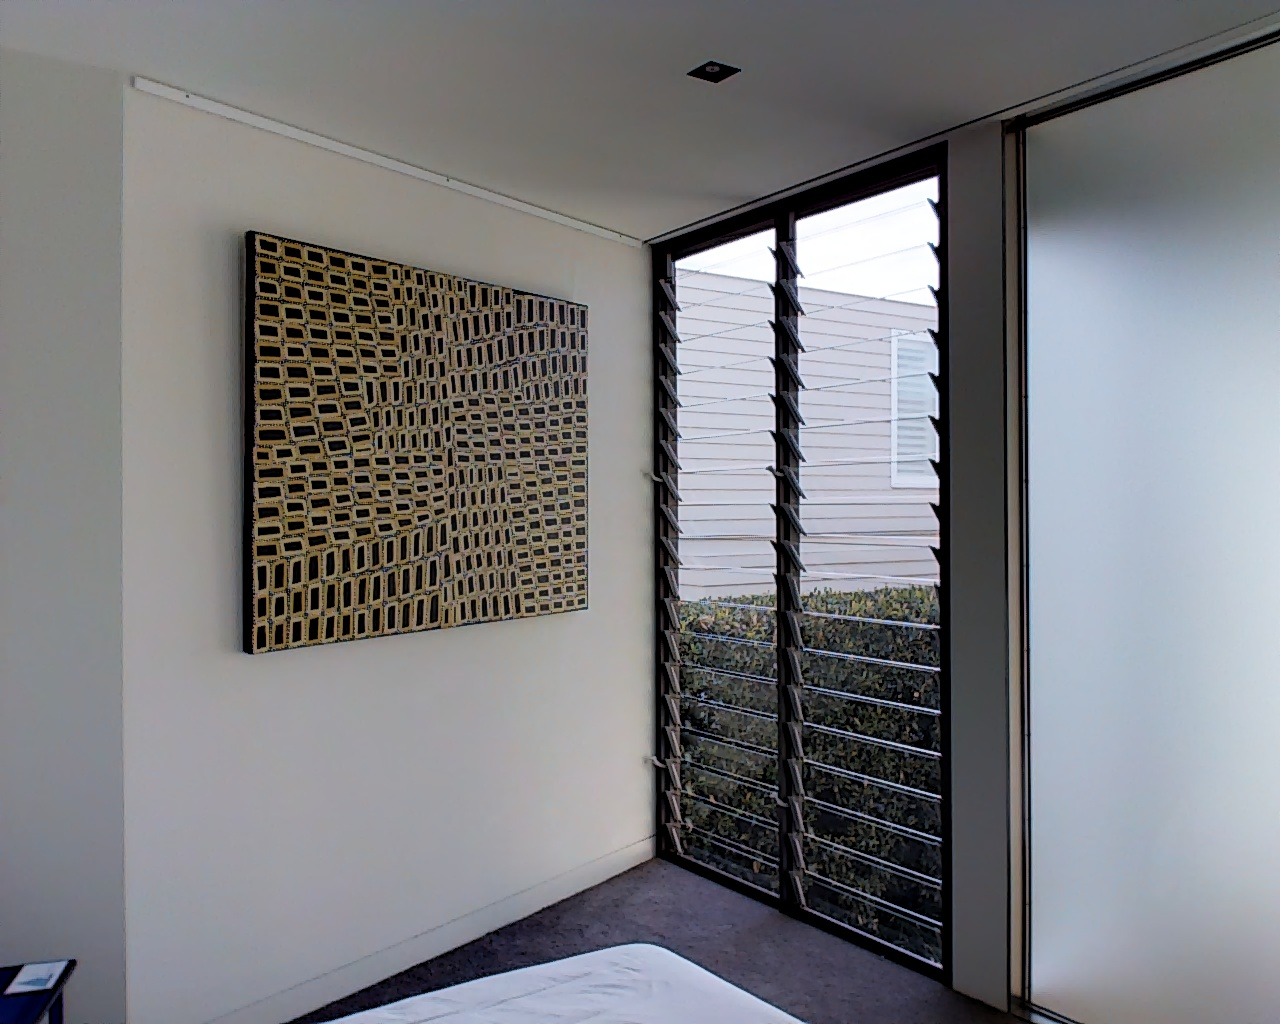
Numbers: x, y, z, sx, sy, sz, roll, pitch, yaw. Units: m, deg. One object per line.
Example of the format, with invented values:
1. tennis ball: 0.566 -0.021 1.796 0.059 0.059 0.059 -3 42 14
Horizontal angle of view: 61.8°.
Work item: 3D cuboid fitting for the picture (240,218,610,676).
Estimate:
1. picture: -0.640 -0.190 3.680 0.120 1.300 1.540 0 0 37
